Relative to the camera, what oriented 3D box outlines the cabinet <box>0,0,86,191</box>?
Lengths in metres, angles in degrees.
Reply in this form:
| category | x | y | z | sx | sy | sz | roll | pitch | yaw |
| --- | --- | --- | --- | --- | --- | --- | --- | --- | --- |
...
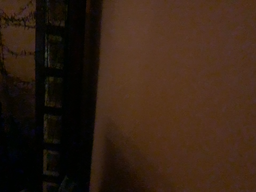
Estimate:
| category | x | y | z | sx | sy | sz | roll | pitch | yaw |
| --- | --- | --- | --- | --- | --- | --- | --- | --- | --- |
| cabinet | -0.770 | 0.100 | 1.590 | 0.760 | 1.890 | 0.320 | 0 | 15 | -24 |
